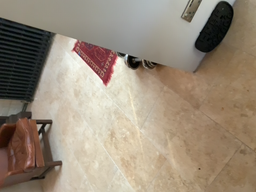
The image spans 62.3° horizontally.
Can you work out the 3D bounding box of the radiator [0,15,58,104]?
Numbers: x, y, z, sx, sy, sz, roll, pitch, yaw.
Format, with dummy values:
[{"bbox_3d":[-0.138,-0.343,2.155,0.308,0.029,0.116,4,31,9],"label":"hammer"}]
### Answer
[{"bbox_3d":[-1.560,-0.410,2.710,0.150,0.970,1.130,46,118,37],"label":"radiator"}]
